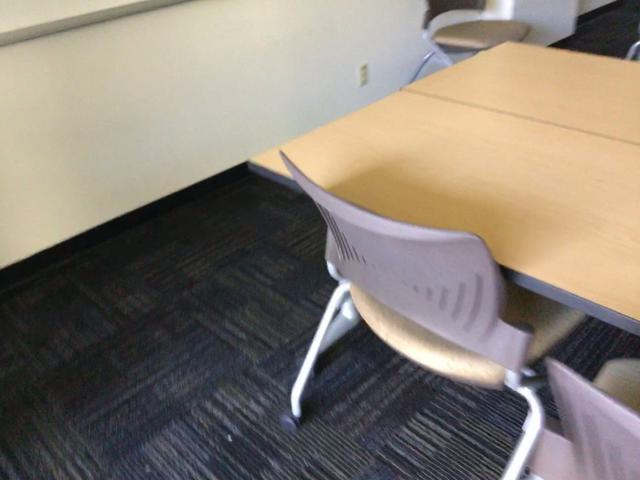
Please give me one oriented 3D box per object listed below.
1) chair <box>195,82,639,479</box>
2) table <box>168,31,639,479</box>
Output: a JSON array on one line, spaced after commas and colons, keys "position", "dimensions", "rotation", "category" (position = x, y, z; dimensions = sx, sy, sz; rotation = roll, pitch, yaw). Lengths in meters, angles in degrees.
[{"position": [0.240, 0.160, 1.350], "dimensions": [0.690, 0.850, 0.560], "rotation": [20, 41, 42], "category": "chair"}, {"position": [0.700, 0.080, 1.510], "dimensions": [1.600, 0.880, 1.310], "rotation": [20, 41, 42], "category": "table"}]
